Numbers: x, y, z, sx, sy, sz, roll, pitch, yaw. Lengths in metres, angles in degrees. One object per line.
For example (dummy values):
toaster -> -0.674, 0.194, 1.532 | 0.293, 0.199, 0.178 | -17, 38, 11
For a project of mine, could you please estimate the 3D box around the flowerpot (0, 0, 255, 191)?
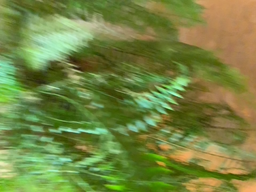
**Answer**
flowerpot -> 0.070, 0.070, 0.780 | 0.690, 1.240, 0.900 | -37, 64, 32
